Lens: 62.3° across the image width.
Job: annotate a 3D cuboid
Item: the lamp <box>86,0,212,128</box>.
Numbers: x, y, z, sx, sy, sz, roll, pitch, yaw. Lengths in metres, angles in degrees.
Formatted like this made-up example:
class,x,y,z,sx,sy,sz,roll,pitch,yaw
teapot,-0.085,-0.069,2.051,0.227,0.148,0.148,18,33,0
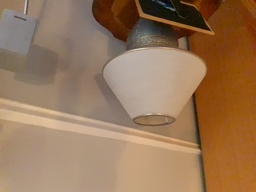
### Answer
class,x,y,z,sx,sy,sz,roll,pitch,yaw
lamp,0.080,-0.140,0.870,0.360,0.440,0.300,18,152,-36
